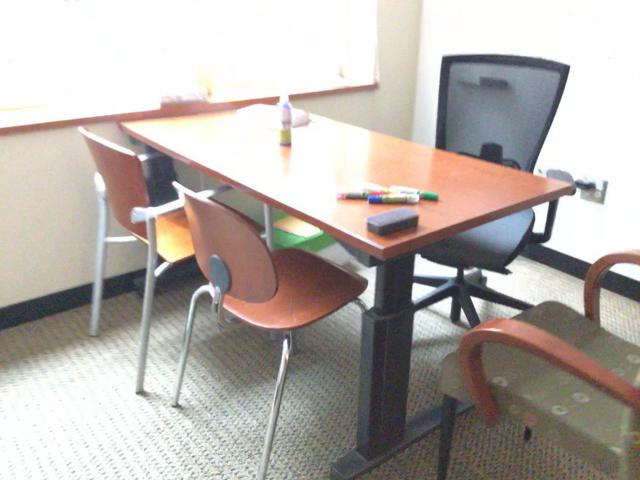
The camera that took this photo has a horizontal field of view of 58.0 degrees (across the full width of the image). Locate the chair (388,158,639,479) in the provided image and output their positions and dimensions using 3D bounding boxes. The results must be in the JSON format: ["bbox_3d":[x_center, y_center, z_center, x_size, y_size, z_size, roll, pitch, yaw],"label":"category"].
[{"bbox_3d":[0.580,0.210,1.200,0.620,0.550,0.580,-16,28,-33],"label":"chair"}]

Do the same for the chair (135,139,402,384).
[{"bbox_3d":[-0.150,0.010,1.690,0.560,0.440,0.500,-16,28,-33],"label":"chair"}]

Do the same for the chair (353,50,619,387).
[{"bbox_3d":[0.550,-0.130,2.130,0.710,1.010,0.660,6,24,14],"label":"chair"}]

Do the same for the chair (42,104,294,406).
[{"bbox_3d":[-0.540,-0.010,2.120,0.610,0.810,0.650,-16,28,-33],"label":"chair"}]

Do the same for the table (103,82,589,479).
[{"bbox_3d":[-0.050,0.010,2.070,0.850,0.880,1.490,-16,28,-33],"label":"table"}]
